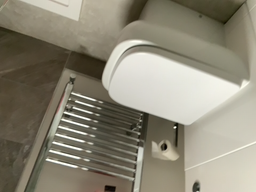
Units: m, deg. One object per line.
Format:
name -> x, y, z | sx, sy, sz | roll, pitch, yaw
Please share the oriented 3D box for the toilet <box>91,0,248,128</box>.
toilet -> 0.160, -0.190, 0.960 | 0.490, 0.450, 0.370 | 18, 146, -14
